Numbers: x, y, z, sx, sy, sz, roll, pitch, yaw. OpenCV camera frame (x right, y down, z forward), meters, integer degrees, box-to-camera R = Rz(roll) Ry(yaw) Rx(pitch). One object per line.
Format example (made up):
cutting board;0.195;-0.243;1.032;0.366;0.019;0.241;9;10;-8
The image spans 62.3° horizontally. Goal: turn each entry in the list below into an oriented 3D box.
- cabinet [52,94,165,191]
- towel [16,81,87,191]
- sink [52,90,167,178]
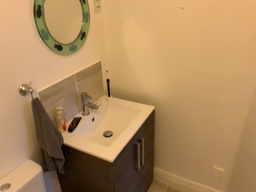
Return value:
cabinet;-0.080;0.520;1.640;0.470;0.790;0.700;13;30;27
towel;-0.400;0.230;1.170;0.240;0.580;0.140;14;32;26
sink;-0.080;0.190;1.470;0.470;0.120;0.700;13;30;27
